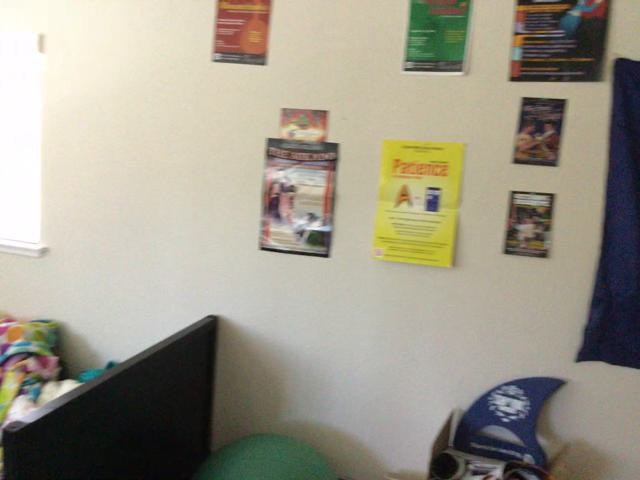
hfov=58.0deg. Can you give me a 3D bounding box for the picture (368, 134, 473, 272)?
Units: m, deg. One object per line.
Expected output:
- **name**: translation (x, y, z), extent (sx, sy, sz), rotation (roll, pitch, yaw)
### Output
- **picture**: translation (0.350, -0.130, 2.020), extent (0.300, 0.440, 0.070), rotation (8, 5, 14)

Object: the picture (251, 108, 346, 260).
- **picture**: translation (-0.080, -0.210, 2.150), extent (0.280, 0.530, 0.050), rotation (8, 0, 15)
